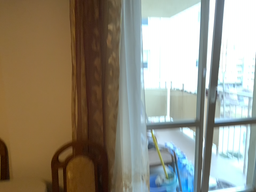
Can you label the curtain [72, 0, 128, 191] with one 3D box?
[{"bbox_3d":[-0.180,0.050,1.470,0.310,2.660,0.250,-2,10,-8],"label":"curtain"}]
